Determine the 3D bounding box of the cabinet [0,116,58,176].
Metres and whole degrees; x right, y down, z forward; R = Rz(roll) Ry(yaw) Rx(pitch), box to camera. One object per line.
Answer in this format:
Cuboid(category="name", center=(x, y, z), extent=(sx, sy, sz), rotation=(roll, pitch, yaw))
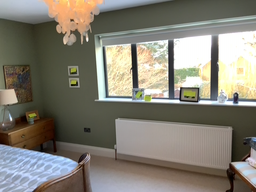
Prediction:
Cuboid(category="cabinet", center=(-1.860, 0.840, 3.860), extent=(0.500, 0.690, 1.020), rotation=(2, 10, 23))
